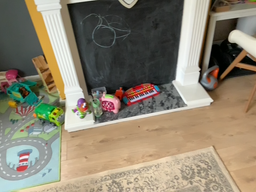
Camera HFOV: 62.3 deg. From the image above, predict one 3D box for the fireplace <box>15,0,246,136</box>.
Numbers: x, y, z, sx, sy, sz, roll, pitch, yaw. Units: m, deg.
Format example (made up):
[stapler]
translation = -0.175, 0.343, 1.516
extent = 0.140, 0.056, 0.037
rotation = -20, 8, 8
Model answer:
[fireplace]
translation = 0.070, -0.330, 1.670
extent = 1.350, 1.190, 0.390
rotation = -9, 41, -6

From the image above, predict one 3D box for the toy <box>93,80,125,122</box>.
[toy]
translation = -0.180, 0.040, 1.980
extent = 0.250, 0.210, 0.310
rotation = -7, 41, -3
